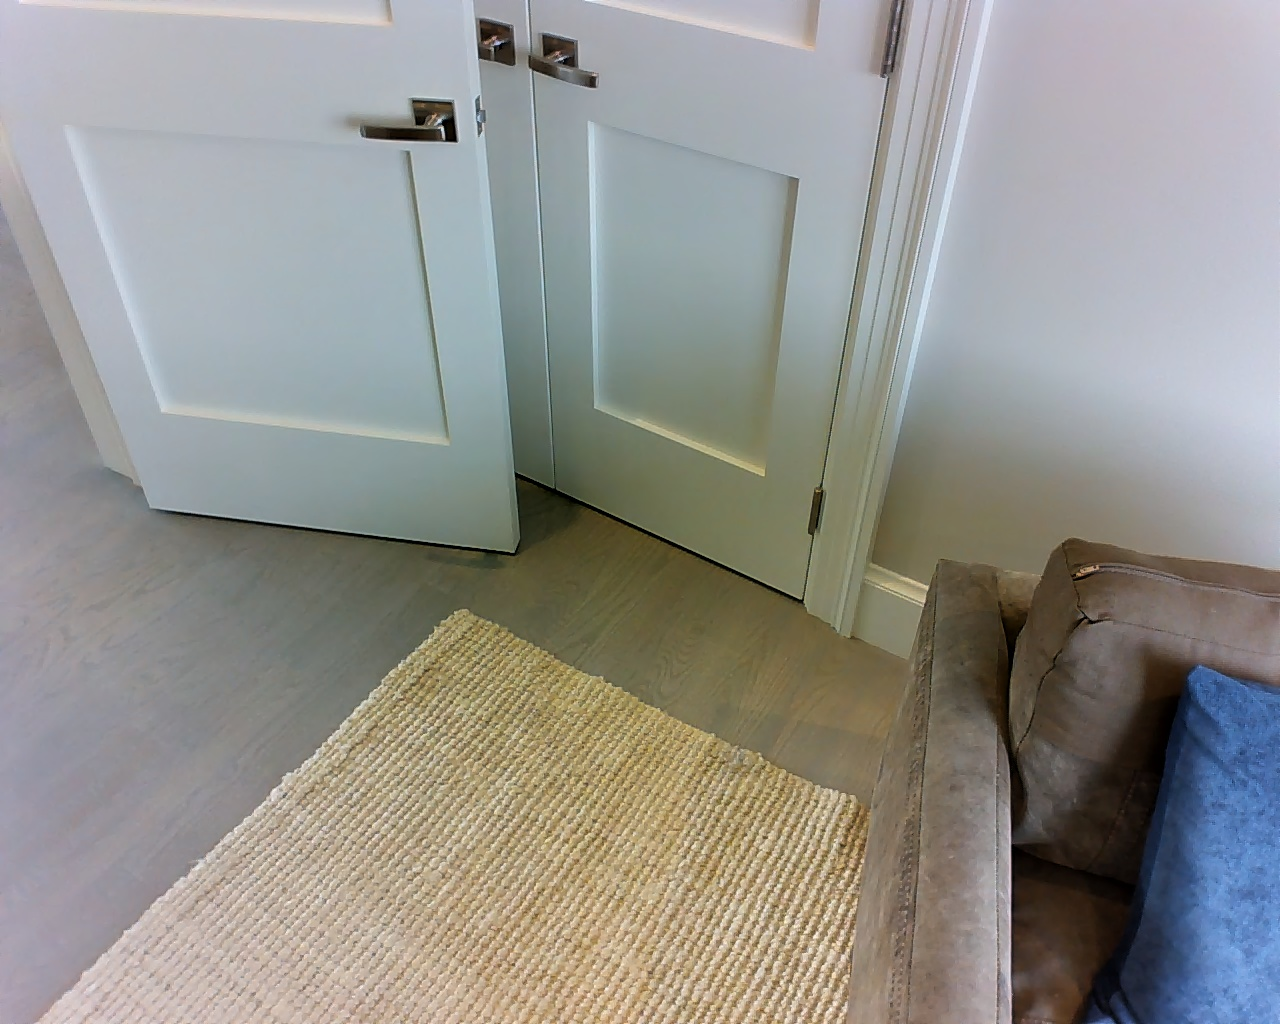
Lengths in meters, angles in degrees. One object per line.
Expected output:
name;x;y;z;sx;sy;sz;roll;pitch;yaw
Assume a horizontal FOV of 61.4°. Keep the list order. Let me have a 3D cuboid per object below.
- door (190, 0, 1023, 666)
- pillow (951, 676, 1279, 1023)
door;-0.180;-0.880;1.600;1.490;2.360;0.100;23;47;23
pillow;0.690;0.410;1.100;0.540;0.460;0.190;26;54;-16
